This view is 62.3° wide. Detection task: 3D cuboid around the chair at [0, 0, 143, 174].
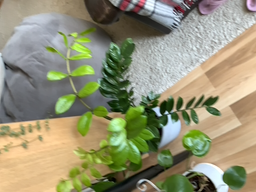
[{"bbox_3d":[-0.590,-0.110,1.360,0.940,0.610,0.840,-38,68,31],"label":"chair"}]
